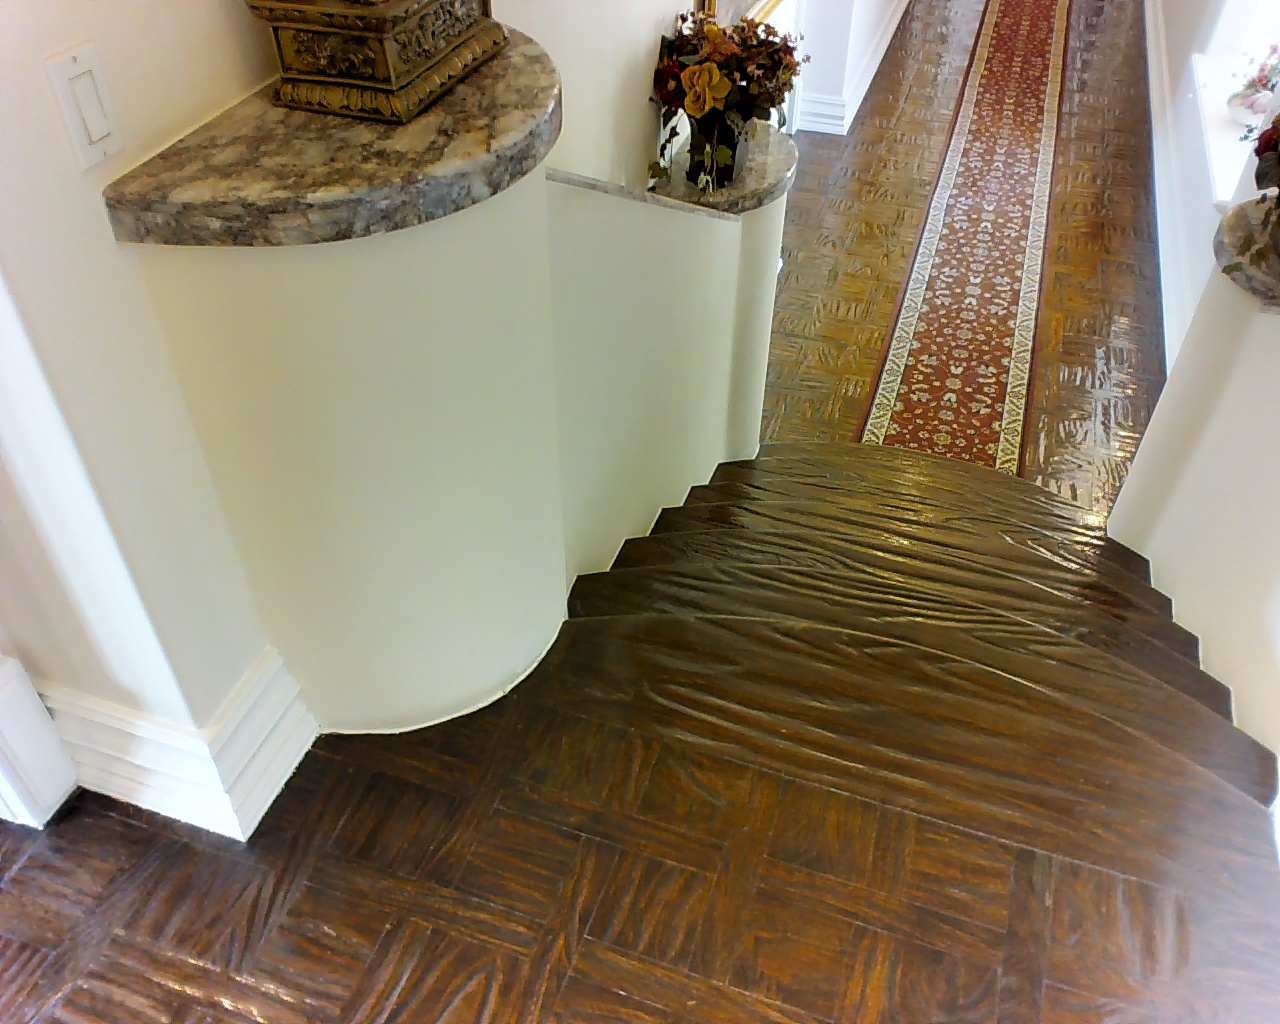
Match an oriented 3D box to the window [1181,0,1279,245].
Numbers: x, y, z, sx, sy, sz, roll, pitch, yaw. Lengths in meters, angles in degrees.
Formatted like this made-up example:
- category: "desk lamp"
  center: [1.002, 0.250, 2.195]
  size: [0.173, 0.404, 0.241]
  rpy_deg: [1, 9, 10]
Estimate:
- category: "window"
  center: [2.780, -2.470, 4.450]
  size: [0.280, 1.970, 1.910]
  rpy_deg: [13, 43, 14]
